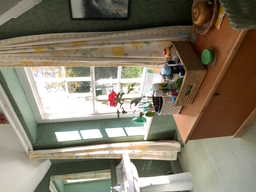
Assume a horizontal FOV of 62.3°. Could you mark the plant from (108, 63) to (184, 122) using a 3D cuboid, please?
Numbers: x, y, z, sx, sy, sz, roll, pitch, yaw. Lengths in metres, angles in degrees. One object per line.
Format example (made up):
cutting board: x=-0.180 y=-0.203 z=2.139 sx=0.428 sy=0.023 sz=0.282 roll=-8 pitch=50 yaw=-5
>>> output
plant: x=0.110 y=-0.040 z=1.640 sx=0.220 sy=0.490 sz=0.380 roll=98 pitch=165 yaw=-48
